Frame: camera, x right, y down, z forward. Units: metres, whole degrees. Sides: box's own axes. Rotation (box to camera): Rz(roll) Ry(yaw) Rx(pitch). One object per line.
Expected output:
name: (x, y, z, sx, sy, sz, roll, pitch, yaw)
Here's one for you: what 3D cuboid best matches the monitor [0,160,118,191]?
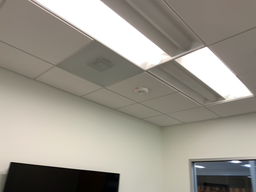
monitor: (-0.630, 1.140, 2.180, 0.070, 0.780, 1.340, -16, -29, 40)
